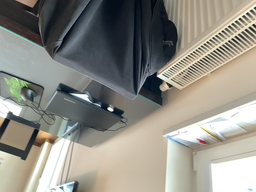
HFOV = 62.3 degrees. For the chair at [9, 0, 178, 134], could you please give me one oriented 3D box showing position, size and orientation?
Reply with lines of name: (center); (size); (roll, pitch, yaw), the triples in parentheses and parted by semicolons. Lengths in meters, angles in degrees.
chair: (-0.110, -0.390, 1.030); (0.440, 0.930, 0.540); (25, 144, -22)
